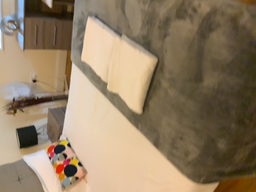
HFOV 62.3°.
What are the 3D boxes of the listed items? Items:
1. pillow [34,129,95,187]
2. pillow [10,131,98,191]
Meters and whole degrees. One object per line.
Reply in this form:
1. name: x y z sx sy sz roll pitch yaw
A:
1. pillow: -0.680 0.630 2.250 0.590 0.270 0.180 36 114 21
2. pillow: -0.790 0.720 2.270 0.780 0.540 0.150 33 115 28
